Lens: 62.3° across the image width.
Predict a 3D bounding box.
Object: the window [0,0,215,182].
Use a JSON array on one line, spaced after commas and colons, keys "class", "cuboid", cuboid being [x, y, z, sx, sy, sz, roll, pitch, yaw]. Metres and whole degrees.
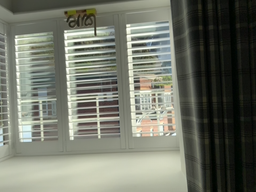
[{"class": "window", "cuboid": [-0.330, -0.210, 1.870, 1.910, 1.750, 0.350, -3, 179, 5]}]
